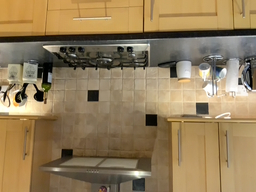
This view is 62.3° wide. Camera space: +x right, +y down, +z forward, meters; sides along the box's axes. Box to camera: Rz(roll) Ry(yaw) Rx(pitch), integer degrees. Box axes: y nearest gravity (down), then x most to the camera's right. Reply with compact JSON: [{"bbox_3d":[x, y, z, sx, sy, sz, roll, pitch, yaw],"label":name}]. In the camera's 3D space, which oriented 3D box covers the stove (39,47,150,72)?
[{"bbox_3d":[-0.190,-0.250,1.560,0.690,0.030,0.520,1,173,5],"label":"stove"}]
